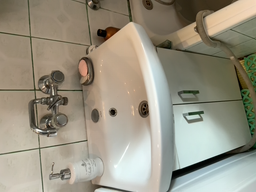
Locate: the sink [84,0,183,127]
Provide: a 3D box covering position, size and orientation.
[{"bbox_3d":[-0.010,-0.150,0.900,0.380,0.160,0.510,-21,73,51],"label":"sink"}]
